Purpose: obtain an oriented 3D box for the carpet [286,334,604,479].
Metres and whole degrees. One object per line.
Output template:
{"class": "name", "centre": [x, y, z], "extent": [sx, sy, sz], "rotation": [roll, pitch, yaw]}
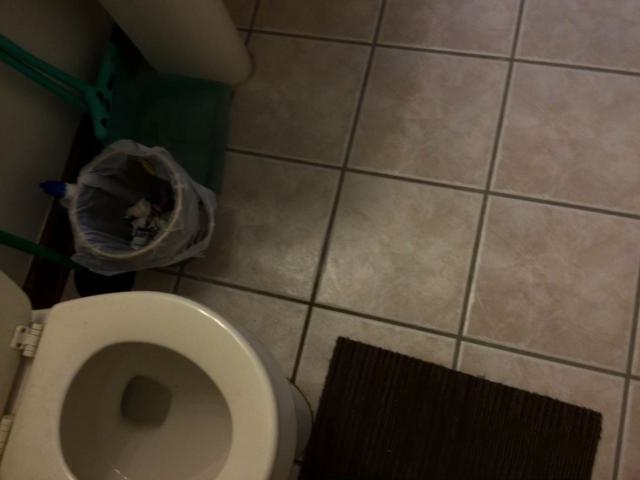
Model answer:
{"class": "carpet", "centre": [0.190, 0.480, 1.040], "extent": [0.510, 0.510, 0.060], "rotation": [11, -10, 15]}
